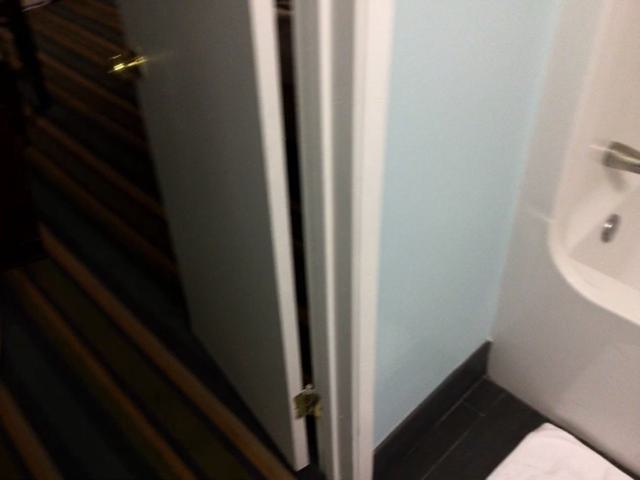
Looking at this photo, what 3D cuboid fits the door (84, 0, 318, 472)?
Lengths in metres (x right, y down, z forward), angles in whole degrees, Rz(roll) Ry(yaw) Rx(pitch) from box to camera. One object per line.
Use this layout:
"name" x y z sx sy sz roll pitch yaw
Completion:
"door" -0.260 -0.080 1.270 0.080 1.270 0.600 -27 42 -26
